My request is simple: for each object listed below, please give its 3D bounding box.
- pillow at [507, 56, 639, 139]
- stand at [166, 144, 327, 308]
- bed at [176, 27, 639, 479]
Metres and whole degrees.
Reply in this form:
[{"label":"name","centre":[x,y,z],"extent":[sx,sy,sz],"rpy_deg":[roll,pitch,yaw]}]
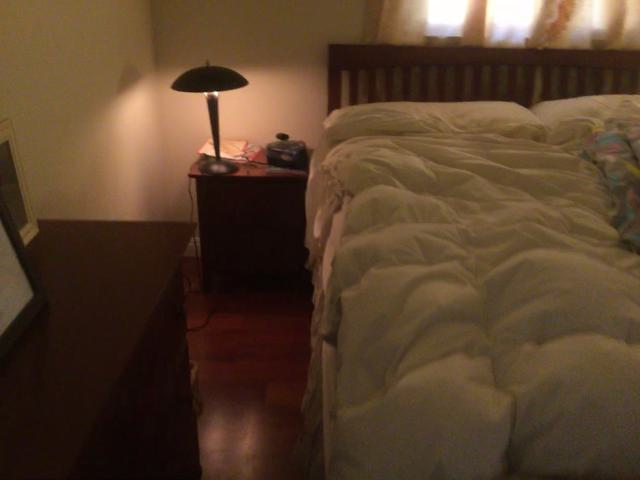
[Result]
[{"label":"pillow","centre":[1.330,-0.620,2.430],"extent":[0.890,0.250,0.560],"rpy_deg":[-2,21,0]},{"label":"stand","centre":[-0.300,-0.080,2.670],"extent":[0.640,0.620,0.450],"rpy_deg":[-2,21,0]},{"label":"bed","centre":[0.940,0.030,1.780],"extent":[2.110,1.210,2.340],"rpy_deg":[-2,21,0]}]
